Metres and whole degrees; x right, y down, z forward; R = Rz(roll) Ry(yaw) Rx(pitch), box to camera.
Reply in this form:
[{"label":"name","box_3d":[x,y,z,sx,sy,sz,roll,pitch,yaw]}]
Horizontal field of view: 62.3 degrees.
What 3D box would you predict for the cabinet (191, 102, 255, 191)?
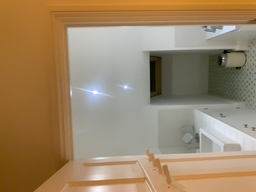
[{"label":"cabinet","box_3d":[1.250,0.450,2.180,1.440,0.690,0.540,-119,28,-82]}]
